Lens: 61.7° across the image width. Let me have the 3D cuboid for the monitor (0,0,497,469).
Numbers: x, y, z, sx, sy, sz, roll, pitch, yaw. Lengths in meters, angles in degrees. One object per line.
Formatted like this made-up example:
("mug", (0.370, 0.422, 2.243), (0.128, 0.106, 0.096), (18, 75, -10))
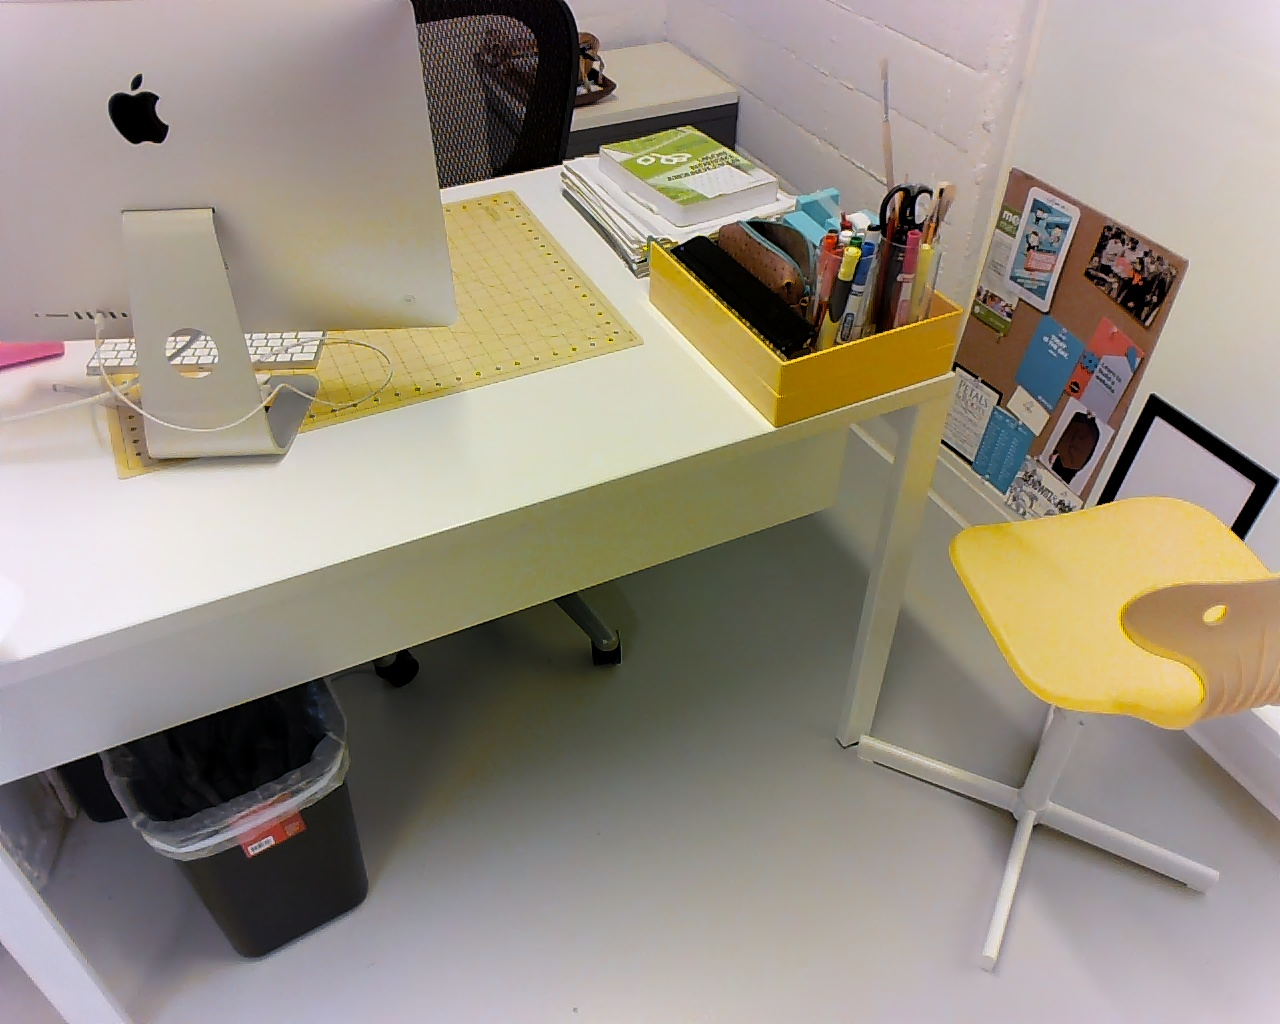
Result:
("monitor", (-0.470, -0.300, 1.100), (0.580, 0.460, 0.240), (0, 41, 0))
